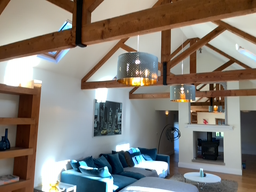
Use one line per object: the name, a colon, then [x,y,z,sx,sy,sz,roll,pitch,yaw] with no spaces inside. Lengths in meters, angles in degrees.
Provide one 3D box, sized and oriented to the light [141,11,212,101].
light: [1.200,-0.970,5.390,0.700,0.750,2.070,31,-100,-7]
